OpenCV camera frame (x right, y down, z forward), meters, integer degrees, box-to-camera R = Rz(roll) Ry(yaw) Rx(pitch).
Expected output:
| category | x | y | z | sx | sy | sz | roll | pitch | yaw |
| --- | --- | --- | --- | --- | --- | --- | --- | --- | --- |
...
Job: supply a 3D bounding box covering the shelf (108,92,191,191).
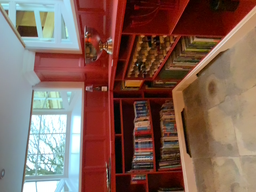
| category | x | y | z | sx | sy | sz | roll | pitch | yaw |
| --- | --- | --- | --- | --- | --- | --- | --- | --- | --- |
| shelf | 0.250 | 0.770 | 3.190 | 0.540 | 1.070 | 1.550 | 113 | 156 | -70 |
